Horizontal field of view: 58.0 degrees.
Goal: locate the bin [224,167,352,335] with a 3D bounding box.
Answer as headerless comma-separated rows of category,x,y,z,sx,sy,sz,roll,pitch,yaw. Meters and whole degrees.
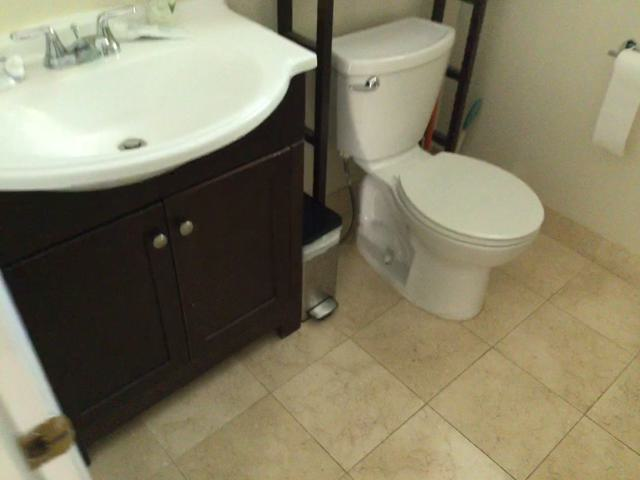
bin,-0.100,0.030,1.790,0.190,0.350,0.350,-31,51,-31

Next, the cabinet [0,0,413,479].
cabinet,-0.320,-0.040,1.340,0.930,1.050,0.470,-31,51,-31
